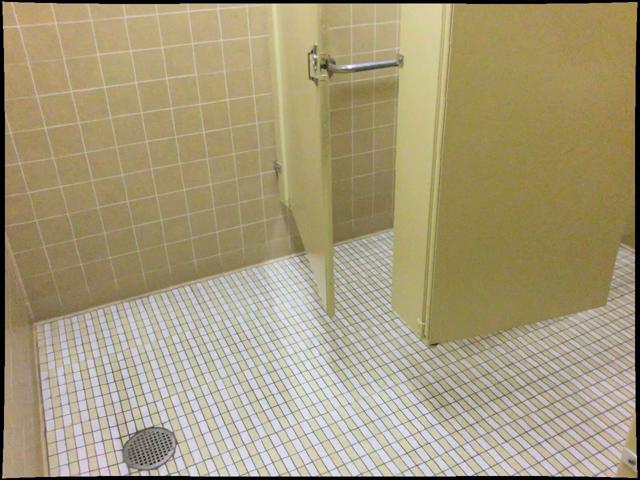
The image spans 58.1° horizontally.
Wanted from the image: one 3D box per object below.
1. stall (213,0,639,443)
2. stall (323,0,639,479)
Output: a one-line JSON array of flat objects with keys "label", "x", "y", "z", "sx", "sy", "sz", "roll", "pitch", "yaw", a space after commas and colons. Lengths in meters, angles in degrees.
[{"label": "stall", "x": 0.578, "y": -0.722, "z": 2.000, "sx": 1.567, "sy": 2.014, "sz": 1.200, "roll": -15, "pitch": 32, "yaw": -22}, {"label": "stall", "x": 0.987, "y": -0.231, "z": 1.470, "sx": 1.527, "sy": 1.653, "sz": 1.270, "roll": -15, "pitch": 32, "yaw": -22}]
